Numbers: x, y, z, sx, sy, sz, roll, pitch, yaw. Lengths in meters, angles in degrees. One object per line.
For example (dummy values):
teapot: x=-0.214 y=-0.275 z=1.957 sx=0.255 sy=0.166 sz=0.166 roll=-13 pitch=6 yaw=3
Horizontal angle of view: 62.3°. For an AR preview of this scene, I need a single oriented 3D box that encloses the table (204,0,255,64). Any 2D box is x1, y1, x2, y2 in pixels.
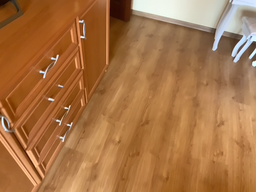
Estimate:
table: x=1.310 y=-0.730 z=2.180 sx=0.790 sy=0.650 sz=0.380 roll=16 pitch=50 yaw=7
